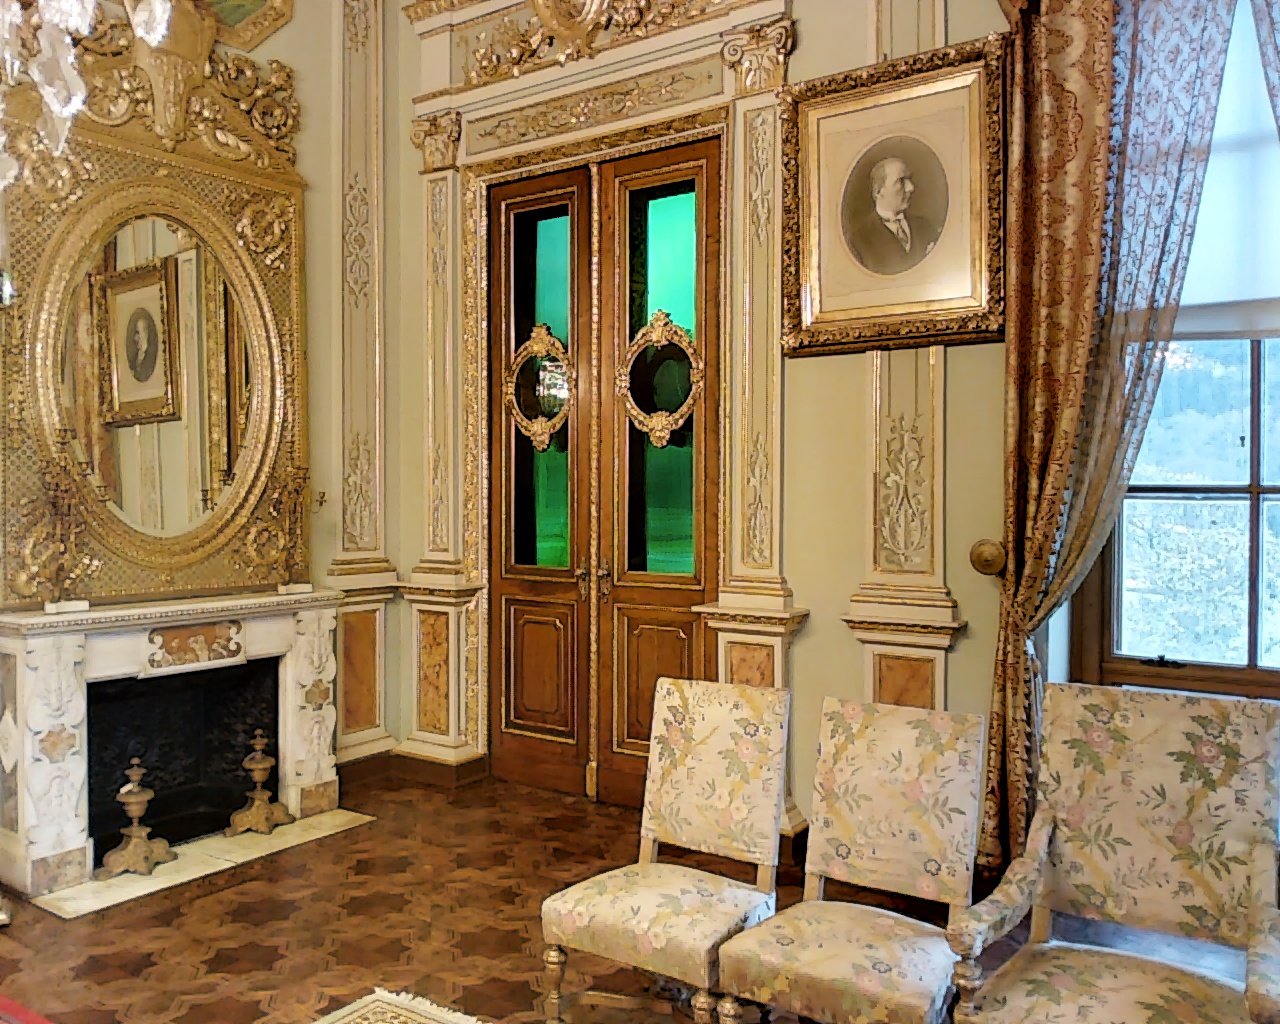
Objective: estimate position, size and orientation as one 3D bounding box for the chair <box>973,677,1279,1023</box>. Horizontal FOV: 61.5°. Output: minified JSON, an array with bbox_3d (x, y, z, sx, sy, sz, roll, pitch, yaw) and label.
[{"bbox_3d":[1.299,1.080,2.730,0.650,1.161,0.790,1,1,35],"label":"chair"}]

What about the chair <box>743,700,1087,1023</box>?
[{"bbox_3d":[0.780,1.141,3.010,0.730,1.050,0.680,1,1,35],"label":"chair"}]

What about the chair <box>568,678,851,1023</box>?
[{"bbox_3d":[0.230,1.120,3.380,0.620,1.050,0.670,1,1,35],"label":"chair"}]
